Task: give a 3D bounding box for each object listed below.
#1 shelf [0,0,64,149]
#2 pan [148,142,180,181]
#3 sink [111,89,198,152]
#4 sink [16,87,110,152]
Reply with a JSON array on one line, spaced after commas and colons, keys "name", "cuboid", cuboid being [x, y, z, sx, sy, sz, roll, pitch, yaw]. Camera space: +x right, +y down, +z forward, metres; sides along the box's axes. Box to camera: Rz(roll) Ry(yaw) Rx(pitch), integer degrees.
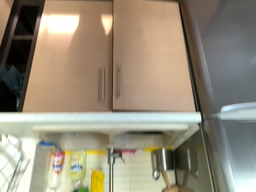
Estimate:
[{"name": "shelf", "cuboid": [-0.570, -0.150, 1.350, 0.110, 0.840, 0.640, 0, 155, -5]}, {"name": "pan", "cuboid": [0.230, 0.430, 1.390, 0.160, 0.220, 0.140, -1, 155, -2]}, {"name": "sink", "cuboid": [0.100, 0.180, 1.270, 0.400, 0.190, 0.590, 0, 155, -5]}, {"name": "sink", "cuboid": [-0.310, 0.170, 1.240, 0.400, 0.190, 0.590, 0, 155, -5]}]
